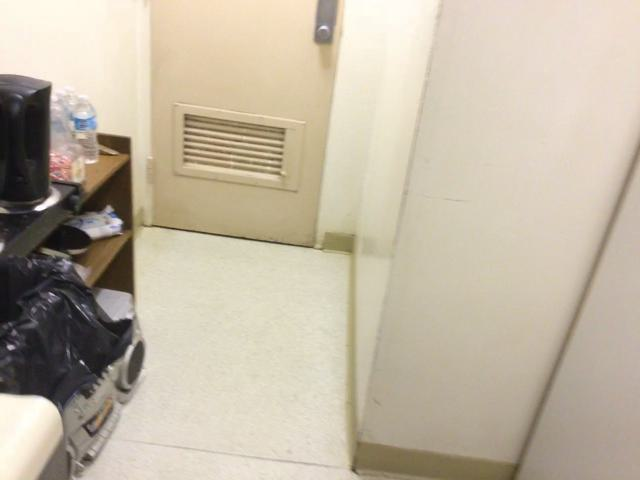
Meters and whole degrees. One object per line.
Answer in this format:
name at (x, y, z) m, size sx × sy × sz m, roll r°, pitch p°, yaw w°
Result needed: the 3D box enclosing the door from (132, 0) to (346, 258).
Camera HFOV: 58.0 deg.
door at (-0.350, -0.790, 2.450) m, size 0.860 × 1.780 × 0.100 m, roll 7°, pitch 24°, yaw 0°
